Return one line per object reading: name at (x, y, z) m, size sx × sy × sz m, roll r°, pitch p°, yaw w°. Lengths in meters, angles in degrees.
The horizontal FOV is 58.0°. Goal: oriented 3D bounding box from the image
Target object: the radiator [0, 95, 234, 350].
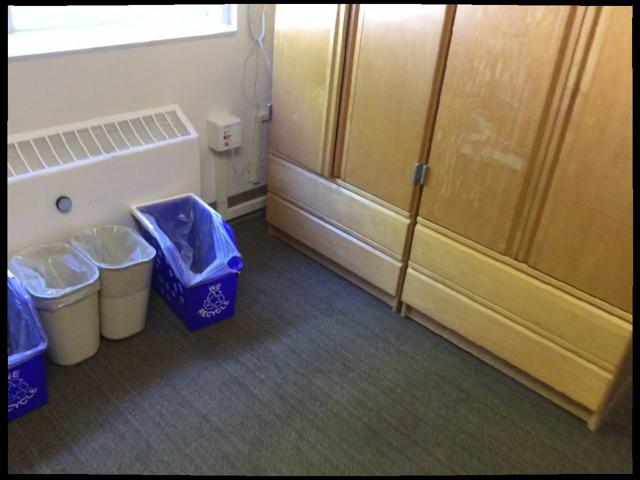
radiator at (-0.888, -0.070, 2.060) m, size 0.260 × 0.631 × 1.249 m, roll 29°, pitch 39°, yaw 35°
